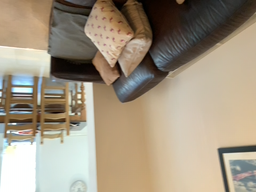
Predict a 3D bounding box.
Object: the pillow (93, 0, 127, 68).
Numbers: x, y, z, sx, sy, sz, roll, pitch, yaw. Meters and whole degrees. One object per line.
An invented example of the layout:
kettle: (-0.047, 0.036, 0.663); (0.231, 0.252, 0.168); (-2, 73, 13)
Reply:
pillow: (-0.150, -0.490, 1.520); (0.130, 0.360, 0.450); (-4, 127, -19)

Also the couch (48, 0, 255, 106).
couch: (-0.030, -0.590, 1.610); (1.020, 0.860, 1.970); (1, 162, -22)

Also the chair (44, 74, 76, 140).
chair: (-1.170, 0.200, 3.620); (0.460, 1.010, 0.470); (1, 162, -22)

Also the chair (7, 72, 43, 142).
chair: (-1.630, 0.190, 3.440); (0.460, 1.010, 0.470); (1, 162, -22)
